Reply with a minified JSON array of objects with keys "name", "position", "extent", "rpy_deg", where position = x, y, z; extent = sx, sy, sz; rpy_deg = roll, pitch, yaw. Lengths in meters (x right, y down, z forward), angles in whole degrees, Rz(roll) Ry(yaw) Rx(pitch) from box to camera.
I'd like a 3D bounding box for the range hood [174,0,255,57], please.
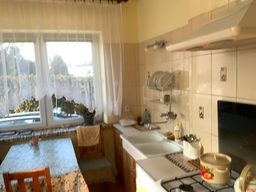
[{"name":"range hood","position":[0.610,-0.600,1.290],"extent":[0.390,0.670,0.570],"rpy_deg":[-5,7,-20]}]
